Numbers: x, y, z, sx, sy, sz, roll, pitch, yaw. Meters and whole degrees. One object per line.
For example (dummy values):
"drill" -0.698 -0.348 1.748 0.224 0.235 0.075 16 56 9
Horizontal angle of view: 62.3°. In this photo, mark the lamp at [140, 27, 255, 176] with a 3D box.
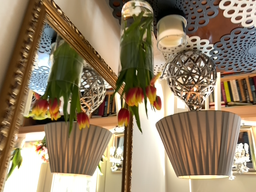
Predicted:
"lamp" 0.250 0.050 0.850 0.330 0.480 0.330 -4 156 15
